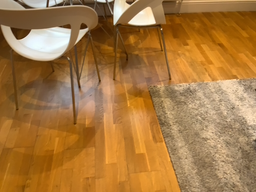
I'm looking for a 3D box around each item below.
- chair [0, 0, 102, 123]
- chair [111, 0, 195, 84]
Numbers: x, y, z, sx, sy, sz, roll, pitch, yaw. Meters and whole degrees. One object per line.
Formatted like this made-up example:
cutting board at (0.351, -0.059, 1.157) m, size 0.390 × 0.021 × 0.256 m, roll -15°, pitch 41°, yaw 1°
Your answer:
chair at (-0.520, -0.300, 1.470) m, size 0.600 × 0.780 × 0.550 m, roll -4°, pitch 43°, yaw -7°
chair at (0.150, -0.590, 1.810) m, size 0.550 × 0.780 × 0.580 m, roll 0°, pitch 43°, yaw -2°
